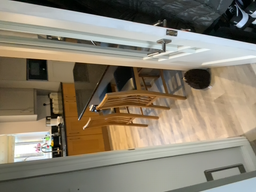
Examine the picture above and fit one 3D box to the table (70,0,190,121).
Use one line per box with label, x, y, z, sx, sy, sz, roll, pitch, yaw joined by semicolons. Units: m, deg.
table;-0.140;-0.310;2.840;1.630;0.900;0.680;-49;48;52
